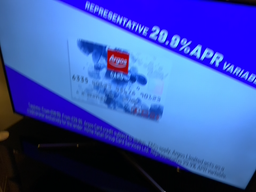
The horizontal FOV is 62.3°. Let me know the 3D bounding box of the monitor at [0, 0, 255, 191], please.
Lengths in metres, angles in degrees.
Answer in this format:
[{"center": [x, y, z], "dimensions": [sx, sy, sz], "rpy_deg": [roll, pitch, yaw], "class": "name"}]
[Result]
[{"center": [-0.050, -0.010, 0.820], "dimensions": [1.090, 0.710, 0.030], "rpy_deg": [14, 30, 16], "class": "monitor"}]
